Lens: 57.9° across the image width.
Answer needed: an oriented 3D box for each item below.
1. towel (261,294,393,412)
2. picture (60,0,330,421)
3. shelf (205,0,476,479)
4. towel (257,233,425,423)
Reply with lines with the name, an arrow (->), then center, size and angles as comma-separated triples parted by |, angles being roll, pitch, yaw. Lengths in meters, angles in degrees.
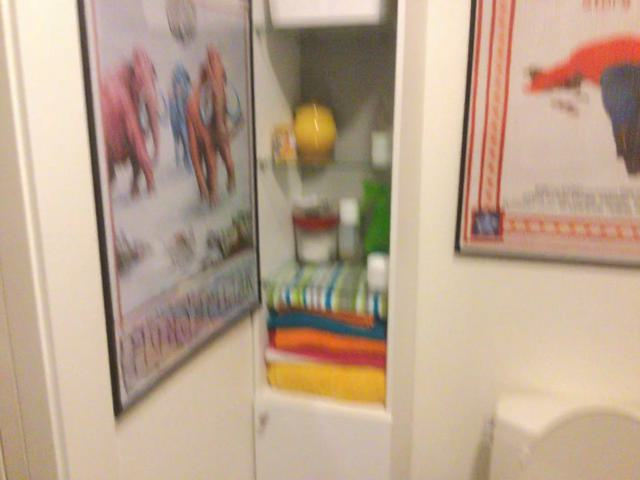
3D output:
towel -> 0.010, 0.230, 1.200 | 0.260, 0.190, 0.050 | 8, 13, 19
picture -> -0.150, -0.140, 1.000 | 0.060, 0.620, 0.710 | 8, 13, 19
shelf -> 0.030, 0.230, 1.230 | 0.380, 1.790, 0.390 | 8, 13, 19
towel -> 0.050, 0.170, 1.250 | 0.280, 0.300, 0.240 | 8, 13, 19
